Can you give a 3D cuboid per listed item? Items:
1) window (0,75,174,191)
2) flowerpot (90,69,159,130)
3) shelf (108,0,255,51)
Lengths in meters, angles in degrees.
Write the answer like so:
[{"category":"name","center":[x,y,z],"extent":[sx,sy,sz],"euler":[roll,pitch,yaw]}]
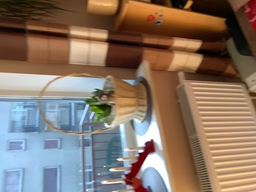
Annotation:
[{"category":"window","center":[-0.500,0.390,1.190],"extent":[0.190,1.530,1.030],"euler":[127,141,-58]},{"category":"flowerpot","center":[-0.040,0.030,1.250],"extent":[0.240,0.320,0.260],"euler":[123,144,-56]},{"category":"shelf","center":[0.430,-0.640,1.630],"extent":[0.310,1.100,0.360],"euler":[126,141,-58]}]
